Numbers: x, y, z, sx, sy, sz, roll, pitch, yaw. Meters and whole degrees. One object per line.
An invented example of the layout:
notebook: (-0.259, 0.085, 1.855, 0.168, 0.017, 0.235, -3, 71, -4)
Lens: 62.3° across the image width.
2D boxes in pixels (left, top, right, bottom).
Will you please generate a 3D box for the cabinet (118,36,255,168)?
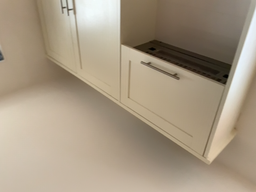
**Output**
cabinet: (0.260, -0.010, 1.200, 0.280, 0.450, 0.630, -28, -135, -36)
